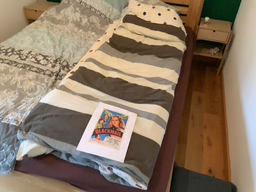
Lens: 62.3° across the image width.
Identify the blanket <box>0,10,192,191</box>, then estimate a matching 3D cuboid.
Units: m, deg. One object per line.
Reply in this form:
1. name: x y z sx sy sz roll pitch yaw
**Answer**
1. blanket: -0.010 -0.220 1.510 0.740 0.190 1.710 13 40 12
